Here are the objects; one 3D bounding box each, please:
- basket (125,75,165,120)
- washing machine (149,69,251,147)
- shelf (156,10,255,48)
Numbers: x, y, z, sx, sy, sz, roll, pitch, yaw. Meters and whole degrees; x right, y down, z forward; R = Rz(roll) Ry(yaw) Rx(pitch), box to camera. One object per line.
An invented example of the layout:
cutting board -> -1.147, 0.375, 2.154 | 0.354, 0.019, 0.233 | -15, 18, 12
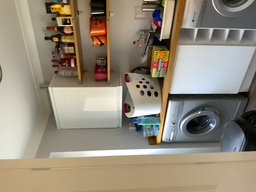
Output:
basket -> 0.160, 0.000, 2.260 | 0.500, 0.340, 0.220 | -98, 9, -54
washing machine -> 0.760, 0.120, 2.520 | 0.680, 0.850, 0.630 | -98, 9, -56
shelf -> 0.770, -0.660, 2.030 | 0.630, 0.890, 0.160 | -98, 9, -56
